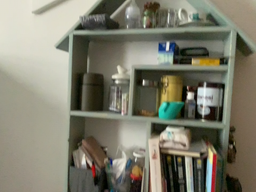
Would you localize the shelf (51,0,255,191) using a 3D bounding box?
[{"bbox_3d":[0.070,-0.060,0.870,0.730,1.010,0.150,4,3,12],"label":"shelf"}]

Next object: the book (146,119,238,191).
[{"bbox_3d":[0.220,0.270,0.800,0.270,0.310,0.240,4,3,11],"label":"book"}]
